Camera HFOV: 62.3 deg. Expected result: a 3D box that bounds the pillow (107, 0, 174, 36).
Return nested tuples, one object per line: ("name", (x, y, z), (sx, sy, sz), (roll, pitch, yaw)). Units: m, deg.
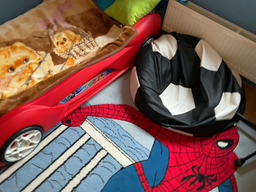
("pillow", (0.120, -0.810, 1.820), (0.360, 0.240, 0.490), (36, 57, 17))
